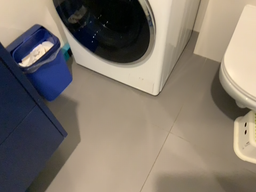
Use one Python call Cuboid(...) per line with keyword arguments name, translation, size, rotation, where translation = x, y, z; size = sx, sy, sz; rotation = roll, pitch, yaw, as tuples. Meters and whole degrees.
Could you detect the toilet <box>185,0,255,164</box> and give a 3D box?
Cuboid(name="toilet", translation=(0.590, -0.070, 0.980), size=(0.380, 0.470, 0.540), rotation=(25, 62, 17))
